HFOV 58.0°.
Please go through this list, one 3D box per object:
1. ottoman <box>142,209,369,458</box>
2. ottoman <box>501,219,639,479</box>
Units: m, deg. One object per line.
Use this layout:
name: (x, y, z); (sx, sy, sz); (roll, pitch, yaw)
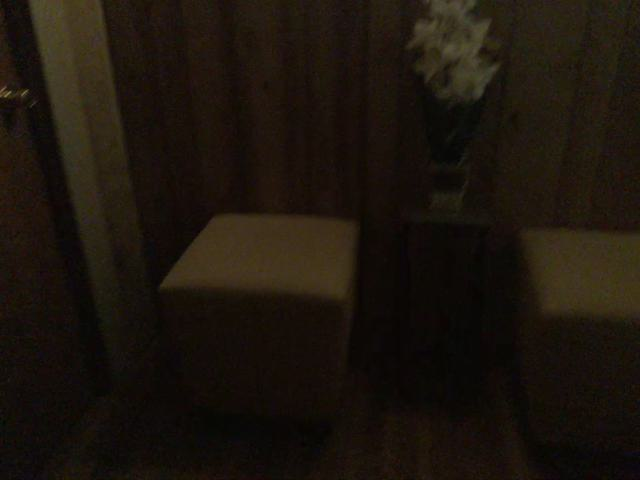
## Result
ottoman: (-0.150, 0.260, 1.840); (0.560, 0.580, 0.500); (2, 22, 10)
ottoman: (0.850, 0.310, 1.670); (0.530, 0.580, 0.540); (2, 22, 10)
